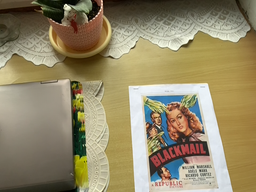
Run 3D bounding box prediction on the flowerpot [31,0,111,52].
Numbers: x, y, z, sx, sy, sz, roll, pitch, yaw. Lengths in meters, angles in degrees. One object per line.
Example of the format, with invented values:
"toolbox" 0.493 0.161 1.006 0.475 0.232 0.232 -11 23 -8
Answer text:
"flowerpot" -0.140 -0.250 0.580 0.170 0.170 0.180 -5 66 -5
